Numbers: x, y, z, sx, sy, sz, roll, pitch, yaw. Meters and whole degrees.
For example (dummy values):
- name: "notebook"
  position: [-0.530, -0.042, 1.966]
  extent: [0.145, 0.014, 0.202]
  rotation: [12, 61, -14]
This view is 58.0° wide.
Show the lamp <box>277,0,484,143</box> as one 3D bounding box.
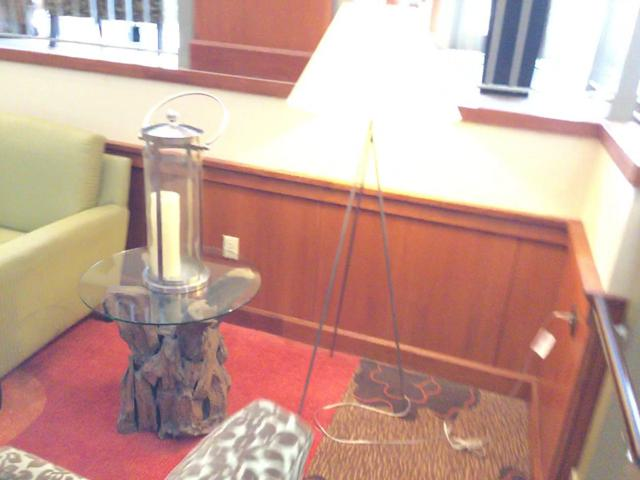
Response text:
- name: "lamp"
  position: [0.200, -0.590, 1.880]
  extent: [0.560, 0.390, 0.320]
  rotation: [14, 22, 11]
